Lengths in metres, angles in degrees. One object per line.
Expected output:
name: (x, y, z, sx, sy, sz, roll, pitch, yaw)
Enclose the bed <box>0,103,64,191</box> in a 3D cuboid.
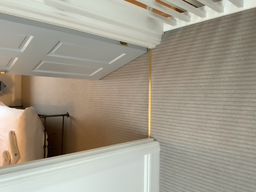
bed: (-1.780, 0.680, 3.360, 2.070, 0.620, 1.040, 2, 91, 47)
